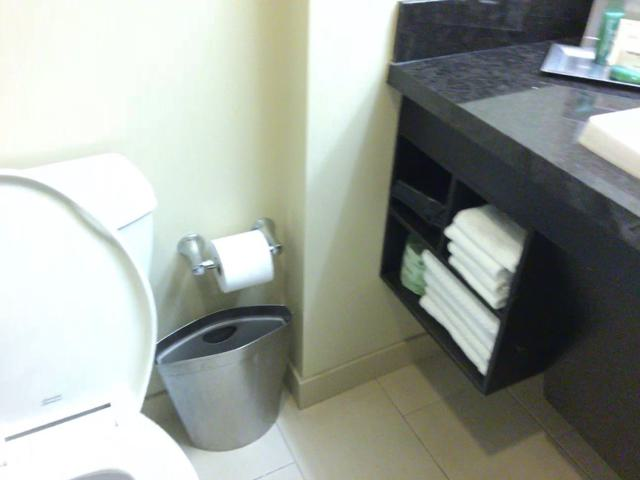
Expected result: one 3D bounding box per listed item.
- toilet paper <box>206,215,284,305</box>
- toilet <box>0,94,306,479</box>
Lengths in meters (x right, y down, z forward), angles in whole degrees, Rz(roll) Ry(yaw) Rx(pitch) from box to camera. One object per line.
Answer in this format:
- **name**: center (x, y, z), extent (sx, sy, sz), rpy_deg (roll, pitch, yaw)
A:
- **toilet paper**: center (-0.160, 0.040, 1.230), extent (0.120, 0.110, 0.130), rpy_deg (-16, 39, -21)
- **toilet**: center (-0.380, 0.350, 0.900), extent (0.440, 0.860, 0.760), rpy_deg (-16, 39, -21)
